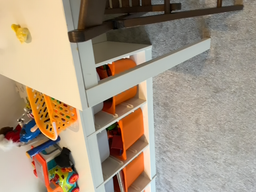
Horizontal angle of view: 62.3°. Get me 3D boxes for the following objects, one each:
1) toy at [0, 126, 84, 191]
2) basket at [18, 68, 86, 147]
[{"bbox_3d":[-0.490,0.500,1.220,0.340,0.300,0.490,18,123,39],"label":"toy"},{"bbox_3d":[-0.340,0.040,0.950,0.240,0.120,0.290,12,119,42],"label":"basket"}]
